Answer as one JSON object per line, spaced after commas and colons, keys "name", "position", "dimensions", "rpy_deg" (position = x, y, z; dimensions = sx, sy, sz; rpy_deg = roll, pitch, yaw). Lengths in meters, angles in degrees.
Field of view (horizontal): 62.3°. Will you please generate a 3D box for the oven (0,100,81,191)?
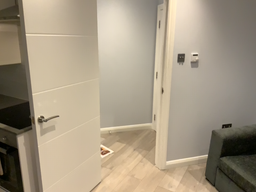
{"name": "oven", "position": [-0.900, 0.580, 2.020], "dimensions": [0.630, 0.900, 0.560], "rpy_deg": [9, 17, 27]}
